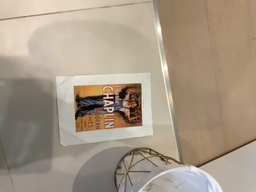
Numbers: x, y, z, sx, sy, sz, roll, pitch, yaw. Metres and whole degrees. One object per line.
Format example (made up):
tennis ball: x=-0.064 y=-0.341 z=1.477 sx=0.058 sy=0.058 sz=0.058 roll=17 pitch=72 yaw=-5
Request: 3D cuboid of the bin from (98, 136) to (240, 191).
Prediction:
bin: x=0.090 y=0.280 z=0.590 sx=0.270 sy=0.300 sz=0.210 roll=-11 pitch=97 yaw=-15
